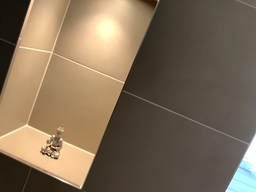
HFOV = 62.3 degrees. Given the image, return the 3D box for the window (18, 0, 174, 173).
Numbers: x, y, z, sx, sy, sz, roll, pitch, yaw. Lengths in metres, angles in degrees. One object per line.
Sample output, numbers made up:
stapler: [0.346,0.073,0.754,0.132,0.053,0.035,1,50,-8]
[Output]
window: [-0.130,-0.080,0.780,0.350,0.640,0.070,23,9,3]
